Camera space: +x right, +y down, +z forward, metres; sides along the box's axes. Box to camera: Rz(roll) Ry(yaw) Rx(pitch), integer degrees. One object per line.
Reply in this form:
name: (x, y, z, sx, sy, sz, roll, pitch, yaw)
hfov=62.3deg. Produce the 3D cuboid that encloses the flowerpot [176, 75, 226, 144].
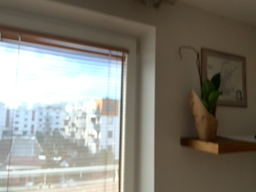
flowerpot: (0.460, 0.090, 1.360, 0.210, 0.400, 0.210, 4, -6, -26)
